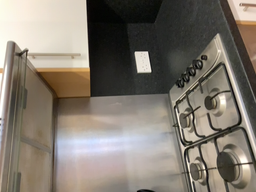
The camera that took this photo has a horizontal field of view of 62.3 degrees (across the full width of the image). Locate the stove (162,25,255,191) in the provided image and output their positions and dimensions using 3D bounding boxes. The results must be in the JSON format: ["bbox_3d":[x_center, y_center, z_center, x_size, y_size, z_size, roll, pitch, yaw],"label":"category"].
[{"bbox_3d":[0.290,0.120,0.870,0.520,0.040,0.580,114,151,-66],"label":"stove"}]
